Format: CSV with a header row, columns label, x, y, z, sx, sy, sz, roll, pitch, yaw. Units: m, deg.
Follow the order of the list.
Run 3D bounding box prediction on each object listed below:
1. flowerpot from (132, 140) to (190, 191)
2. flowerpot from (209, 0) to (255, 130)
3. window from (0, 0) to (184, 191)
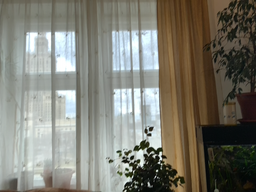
label,x,y,z,sx,sy,sz,roll,pitch,yaw
flowerpot,0.260,1.070,1.710,0.370,1.350,0.470,-2,-7,-3
flowerpot,1.180,-0.410,1.740,0.620,1.330,0.830,-2,-7,1
window,-0.590,-0.310,2.230,2.170,2.560,0.210,-2,-7,-5
